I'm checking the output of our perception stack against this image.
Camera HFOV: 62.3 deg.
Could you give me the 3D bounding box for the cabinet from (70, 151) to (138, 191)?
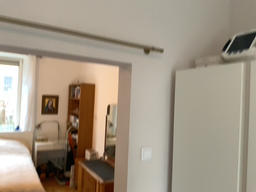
[{"bbox_3d":[-0.480,1.460,3.440,0.500,0.710,1.550,3,-1,-30],"label":"cabinet"}]
